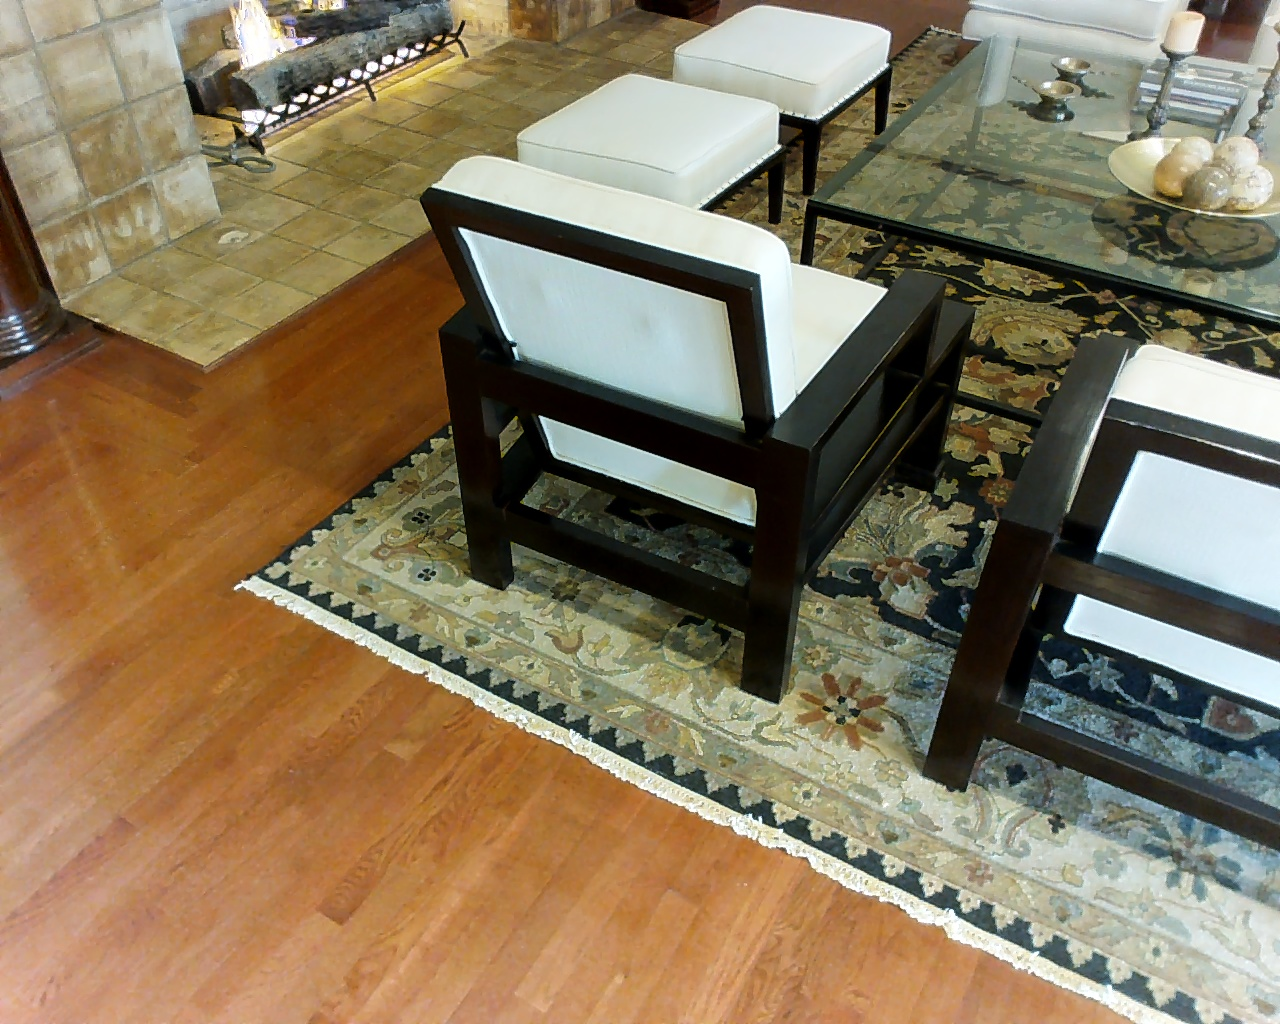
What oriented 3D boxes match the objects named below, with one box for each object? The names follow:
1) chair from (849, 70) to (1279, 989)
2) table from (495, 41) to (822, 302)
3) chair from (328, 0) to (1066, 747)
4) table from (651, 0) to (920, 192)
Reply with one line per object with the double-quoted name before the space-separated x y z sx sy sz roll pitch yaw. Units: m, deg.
"chair" 1.000 0.000 1.720 0.890 0.920 1.010 21 46 21
"table" 0.070 -1.070 3.290 0.690 0.390 0.730 22 46 22
"chair" 0.140 -0.350 2.080 0.860 0.930 0.960 22 46 22
"table" 0.520 -1.570 3.830 0.640 0.430 0.800 22 46 22
